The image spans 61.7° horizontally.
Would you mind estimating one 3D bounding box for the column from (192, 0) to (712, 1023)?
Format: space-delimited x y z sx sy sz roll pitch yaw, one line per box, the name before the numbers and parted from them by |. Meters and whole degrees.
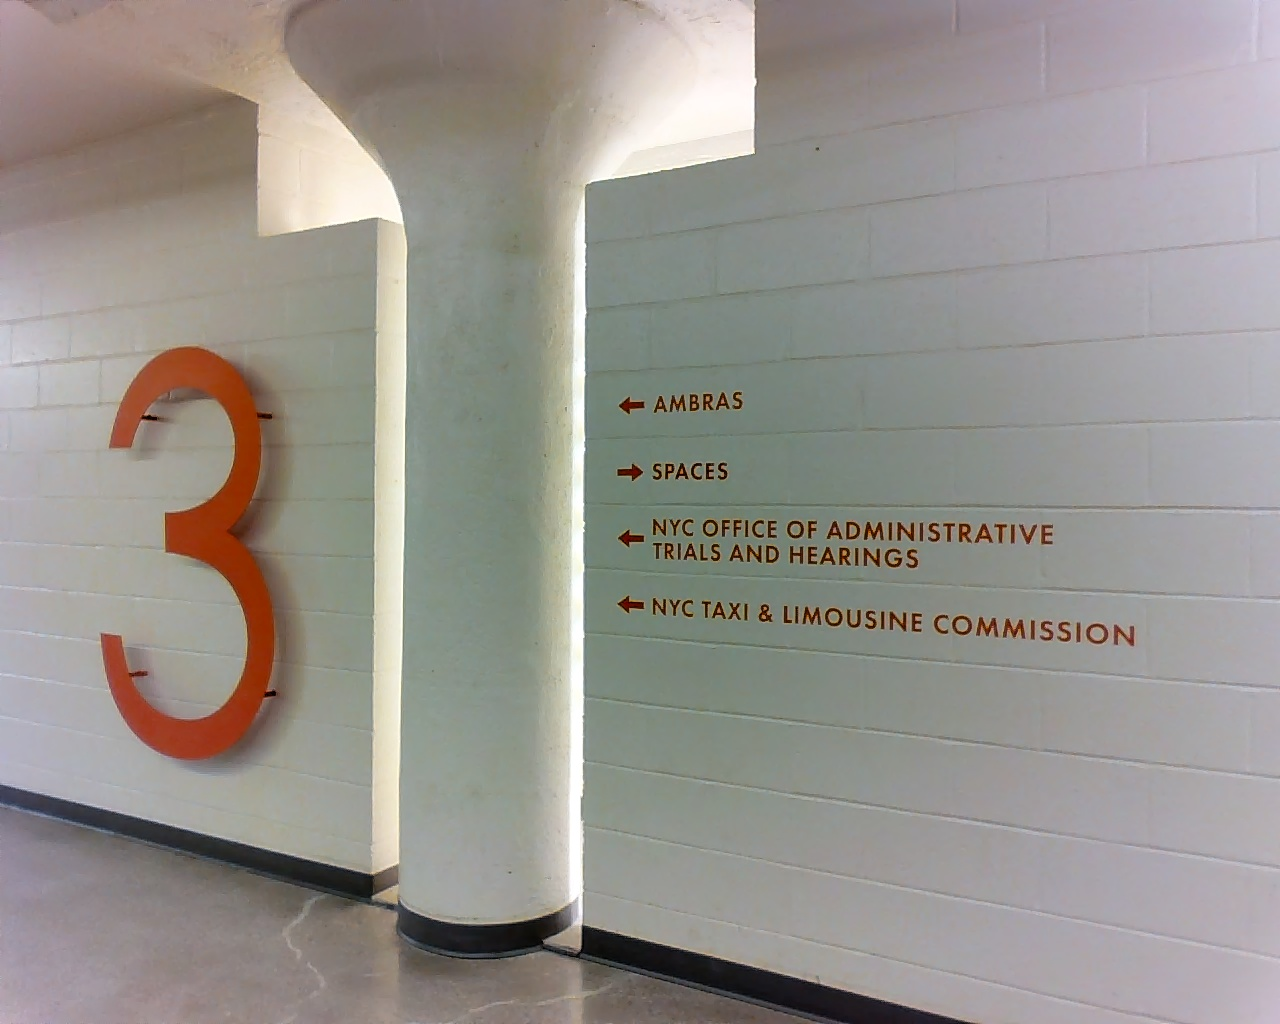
column | -0.600 -0.040 3.450 1.410 2.901 0.830 1 0 29
